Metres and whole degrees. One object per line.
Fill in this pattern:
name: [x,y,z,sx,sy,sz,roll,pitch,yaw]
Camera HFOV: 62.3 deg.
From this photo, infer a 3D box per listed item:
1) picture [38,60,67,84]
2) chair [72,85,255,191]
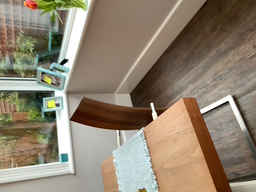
picture: [-0.820,-0.250,2.280,0.240,0.260,0.160,-43,53,55]
chair: [0.220,0.250,1.260,0.420,0.970,0.470,-47,50,54]
